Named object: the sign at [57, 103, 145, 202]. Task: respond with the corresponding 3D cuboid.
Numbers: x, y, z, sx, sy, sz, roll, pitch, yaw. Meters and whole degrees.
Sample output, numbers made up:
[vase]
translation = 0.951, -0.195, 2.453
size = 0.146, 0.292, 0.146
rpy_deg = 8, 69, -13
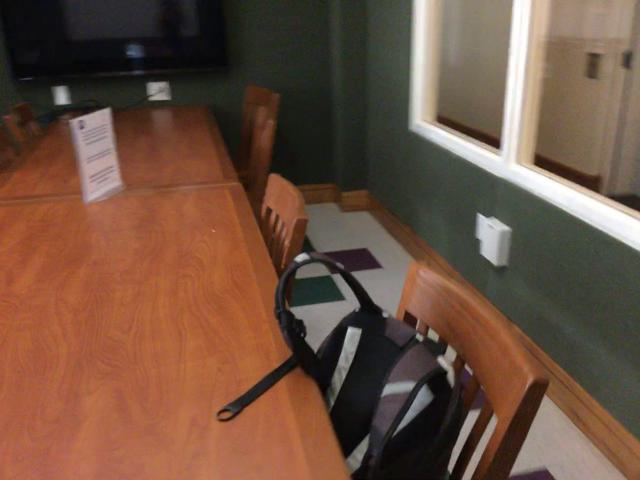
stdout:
[sign]
translation = -0.750, -0.310, 2.010
size = 0.130, 0.280, 0.270
rpy_deg = 3, 23, 10
